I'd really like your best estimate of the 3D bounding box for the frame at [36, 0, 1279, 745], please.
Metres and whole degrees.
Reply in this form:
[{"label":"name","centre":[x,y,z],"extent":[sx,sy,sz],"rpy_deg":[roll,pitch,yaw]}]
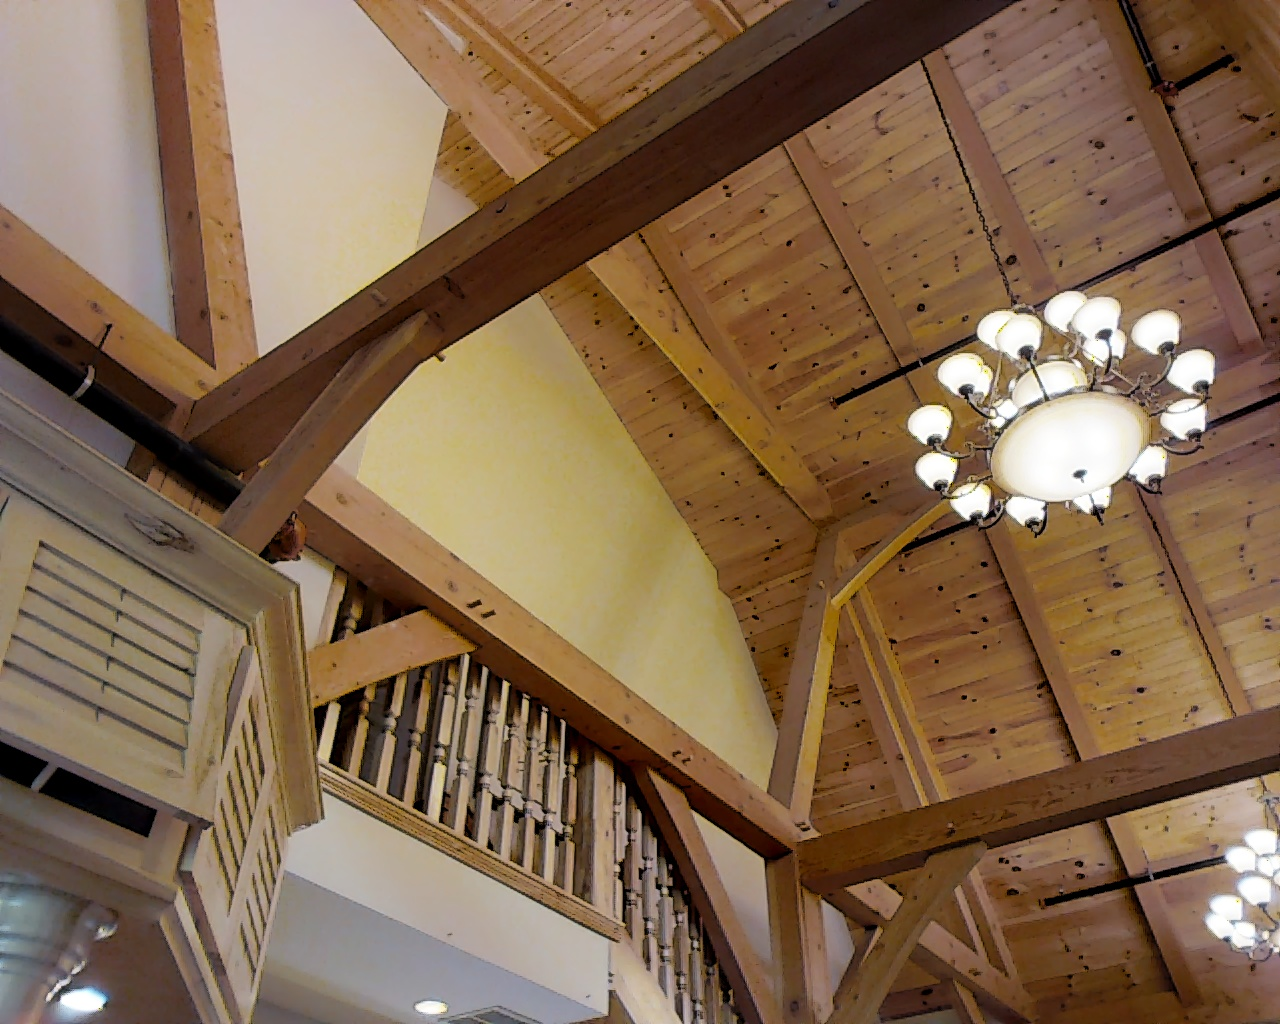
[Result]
[{"label":"frame","centre":[0.360,-0.770,2.440],"extent":[4.549,1.300,0.340],"rpy_deg":[-25,-47,25]}]
